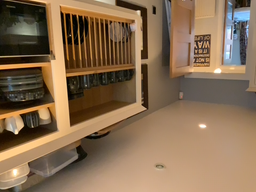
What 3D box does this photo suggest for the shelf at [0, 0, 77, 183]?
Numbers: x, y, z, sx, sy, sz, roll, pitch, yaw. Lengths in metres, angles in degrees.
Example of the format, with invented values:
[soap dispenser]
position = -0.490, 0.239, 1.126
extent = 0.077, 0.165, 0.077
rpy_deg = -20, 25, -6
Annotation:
[shelf]
position = -0.640, -0.090, 1.030
extent = 0.380, 0.860, 0.600
rpy_deg = 7, -165, 35

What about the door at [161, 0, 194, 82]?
[door]
position = 0.680, -1.260, 2.790
extent = 0.170, 2.060, 0.780
rpy_deg = 6, -166, 31
